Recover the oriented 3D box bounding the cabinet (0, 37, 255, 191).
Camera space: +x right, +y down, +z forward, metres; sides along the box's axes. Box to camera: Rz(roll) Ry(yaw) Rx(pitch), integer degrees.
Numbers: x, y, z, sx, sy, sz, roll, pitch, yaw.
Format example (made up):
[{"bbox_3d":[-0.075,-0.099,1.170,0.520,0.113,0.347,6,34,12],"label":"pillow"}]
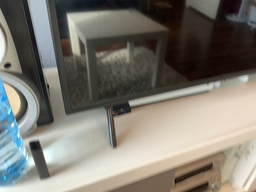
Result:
[{"bbox_3d":[0.210,0.150,0.910,1.420,0.510,0.580,-11,37,-19],"label":"cabinet"}]
